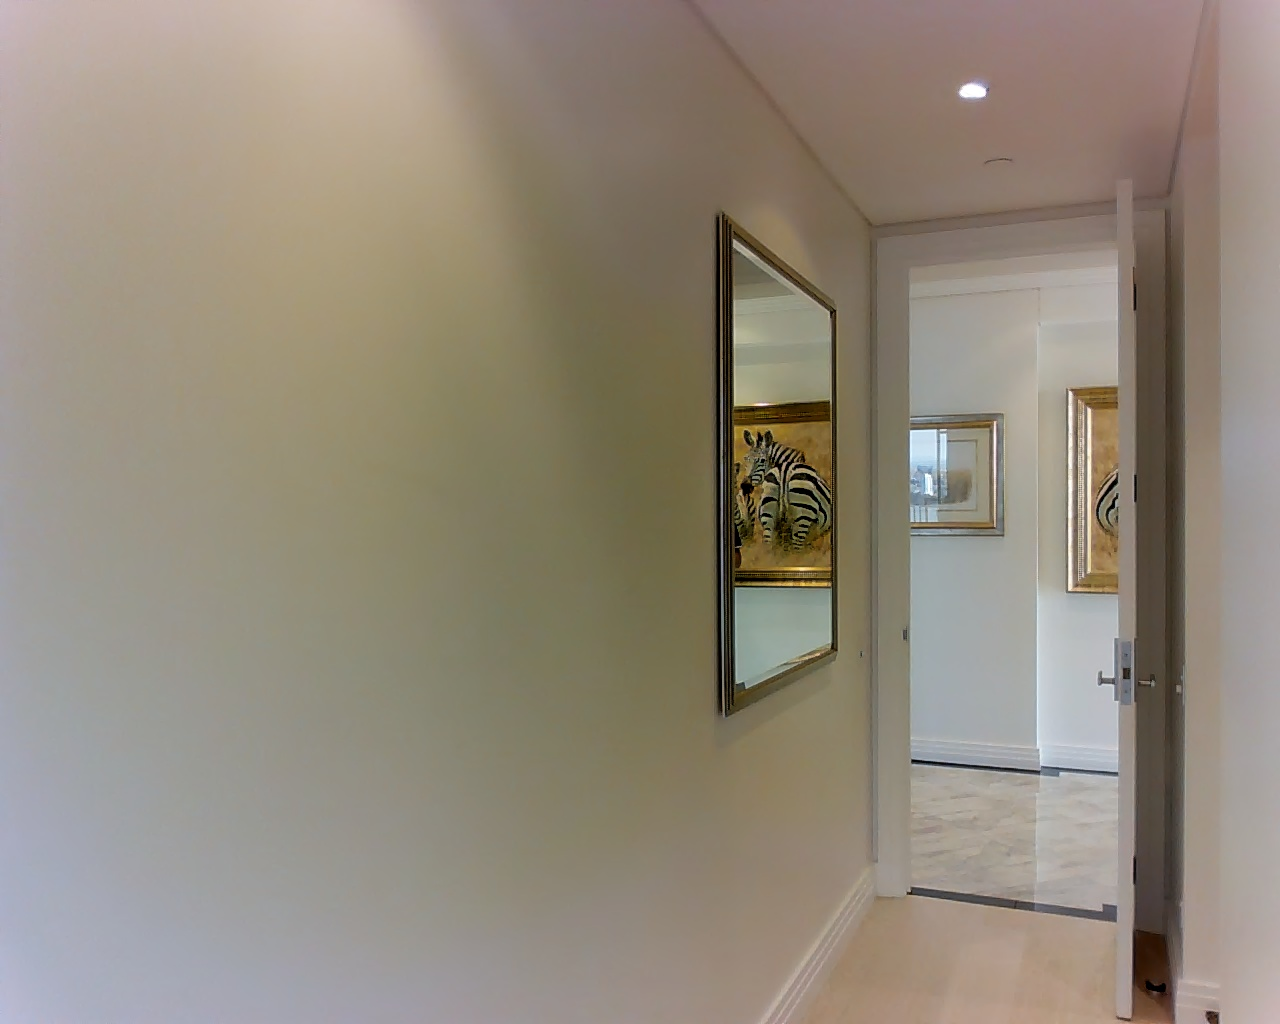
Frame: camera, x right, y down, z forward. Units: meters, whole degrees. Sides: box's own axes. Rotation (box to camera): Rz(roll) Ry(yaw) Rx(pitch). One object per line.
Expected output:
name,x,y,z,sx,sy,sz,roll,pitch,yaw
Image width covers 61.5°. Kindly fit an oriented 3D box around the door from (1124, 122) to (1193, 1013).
door,1.590,0.150,3.320,0.170,2.421,0.800,0,0,25
